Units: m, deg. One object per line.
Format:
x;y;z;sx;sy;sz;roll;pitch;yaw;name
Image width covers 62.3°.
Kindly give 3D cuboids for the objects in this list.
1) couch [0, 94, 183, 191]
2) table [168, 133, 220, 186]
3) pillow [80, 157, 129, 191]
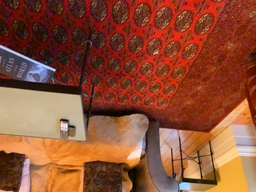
-0.820;0.670;2.220;2.440;0.860;1.060;6;147;-5;couch
0.780;0.790;2.620;0.440;0.510;0.430;4;147;-3;table
-0.230;0.820;2.040;0.410;0.370;0.130;-6;150;-16;pillow
